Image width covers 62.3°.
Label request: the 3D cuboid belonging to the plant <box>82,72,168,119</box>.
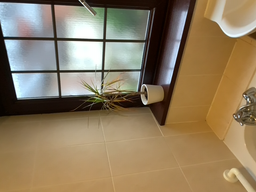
[{"bbox_3d":[-0.030,-0.010,1.430,0.170,0.530,0.240,-115,27,-55],"label":"plant"}]
